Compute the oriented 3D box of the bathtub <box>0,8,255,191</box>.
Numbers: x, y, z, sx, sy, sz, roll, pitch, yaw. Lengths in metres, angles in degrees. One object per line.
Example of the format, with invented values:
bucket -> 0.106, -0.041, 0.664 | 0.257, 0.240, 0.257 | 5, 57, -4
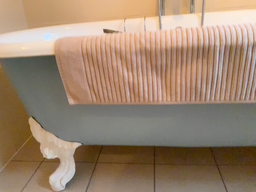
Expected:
bathtub -> 0.250, -0.010, 0.990 | 1.710, 0.670, 0.830 | -1, 23, 7
